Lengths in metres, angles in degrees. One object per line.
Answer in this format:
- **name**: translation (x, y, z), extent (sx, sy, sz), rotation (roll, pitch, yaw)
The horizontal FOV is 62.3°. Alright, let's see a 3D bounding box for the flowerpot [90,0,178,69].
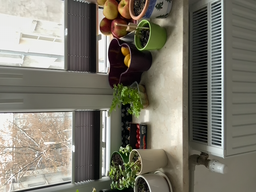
- **flowerpot**: translation (0.000, -0.360, 0.930), extent (0.430, 0.180, 0.440), rotation (6, 95, 60)

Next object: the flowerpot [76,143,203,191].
- **flowerpot**: translation (0.010, 0.420, 0.920), extent (0.470, 0.340, 0.280), rotation (7, 96, 60)

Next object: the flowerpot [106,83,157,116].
- **flowerpot**: translation (0.010, 0.010, 1.030), extent (0.210, 0.160, 0.140), rotation (8, 97, 60)
